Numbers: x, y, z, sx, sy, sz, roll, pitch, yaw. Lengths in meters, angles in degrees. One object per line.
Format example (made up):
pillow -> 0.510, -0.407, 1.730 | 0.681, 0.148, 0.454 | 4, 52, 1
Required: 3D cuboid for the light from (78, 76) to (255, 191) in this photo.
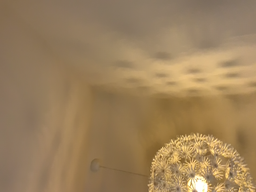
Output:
light -> 0.200, 0.770, 2.350 | 1.060, 1.030, 1.970 | 18, 158, -13
